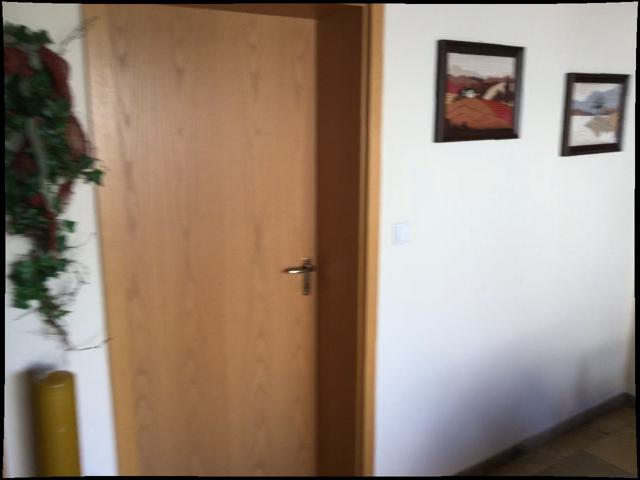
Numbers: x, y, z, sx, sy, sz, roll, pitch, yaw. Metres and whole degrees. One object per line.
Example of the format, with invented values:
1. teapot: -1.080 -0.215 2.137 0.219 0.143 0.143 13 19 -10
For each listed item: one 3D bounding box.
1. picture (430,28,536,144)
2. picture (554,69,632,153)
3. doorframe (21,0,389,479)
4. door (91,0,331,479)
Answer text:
1. picture: 0.629 -0.581 2.210 0.520 0.400 0.040 -9 15 -33
2. picture: 1.239 -0.581 2.610 0.490 0.350 0.040 -9 15 -33
3. doorframe: -0.290 0.200 1.890 0.989 2.002 0.370 -9 15 -33
4. door: -0.310 0.180 2.060 0.769 1.952 0.090 -9 15 -33
